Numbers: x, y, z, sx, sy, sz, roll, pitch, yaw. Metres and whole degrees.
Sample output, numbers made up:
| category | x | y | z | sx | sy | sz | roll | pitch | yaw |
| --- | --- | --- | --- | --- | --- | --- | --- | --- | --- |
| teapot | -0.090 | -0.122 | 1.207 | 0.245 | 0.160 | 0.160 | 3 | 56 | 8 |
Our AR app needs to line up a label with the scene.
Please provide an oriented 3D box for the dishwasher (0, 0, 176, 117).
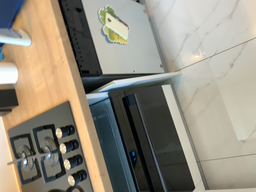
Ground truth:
| category | x | y | z | sx | sy | sz | roll | pitch | yaw |
| --- | --- | --- | --- | --- | --- | --- | --- | --- | --- |
| dishwasher | -0.230 | -0.240 | 1.270 | 0.620 | 0.860 | 0.450 | -21 | 83 | 36 |

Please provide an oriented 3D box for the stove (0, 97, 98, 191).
| category | x | y | z | sx | sy | sz | roll | pitch | yaw |
| --- | --- | --- | --- | --- | --- | --- | --- | --- | --- |
| stove | -0.330 | 0.370 | 0.860 | 0.540 | 0.050 | 0.600 | -21 | 83 | 36 |

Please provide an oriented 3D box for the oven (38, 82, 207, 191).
| category | x | y | z | sx | sy | sz | roll | pitch | yaw |
| --- | --- | --- | --- | --- | --- | --- | --- | --- | --- |
| oven | -0.010 | 0.310 | 1.290 | 0.610 | 0.670 | 0.590 | -21 | 83 | 36 |
